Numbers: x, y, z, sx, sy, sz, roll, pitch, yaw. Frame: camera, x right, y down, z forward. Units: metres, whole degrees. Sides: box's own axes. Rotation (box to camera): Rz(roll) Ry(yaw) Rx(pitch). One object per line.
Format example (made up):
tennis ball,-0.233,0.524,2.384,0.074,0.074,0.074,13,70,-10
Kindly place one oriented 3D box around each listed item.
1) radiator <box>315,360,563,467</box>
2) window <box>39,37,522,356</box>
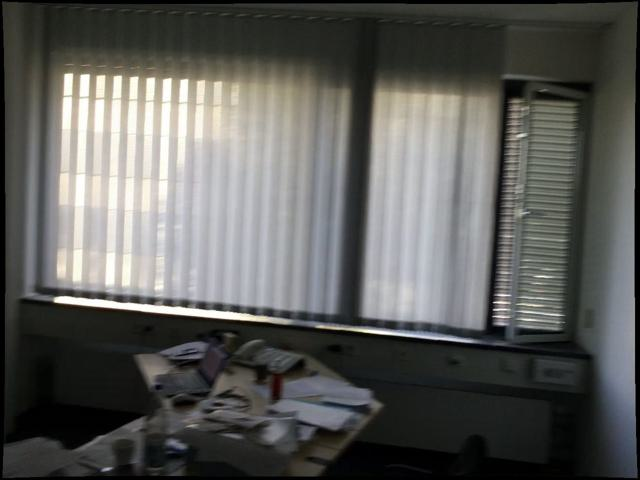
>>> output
radiator,0.699,1.051,3.560,1.429,0.440,0.230,3,5,8
window,-0.340,-0.310,3.650,2.937,1.802,0.210,4,4,8
